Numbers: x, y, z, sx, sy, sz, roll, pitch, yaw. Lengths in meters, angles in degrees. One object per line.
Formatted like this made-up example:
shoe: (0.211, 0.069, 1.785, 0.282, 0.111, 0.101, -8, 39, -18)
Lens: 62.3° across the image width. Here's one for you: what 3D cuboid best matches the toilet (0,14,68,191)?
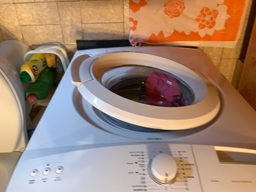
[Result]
toilet: (-0.570, 0.100, 0.840, 0.390, 0.740, 0.660, -2, 122, 0)
